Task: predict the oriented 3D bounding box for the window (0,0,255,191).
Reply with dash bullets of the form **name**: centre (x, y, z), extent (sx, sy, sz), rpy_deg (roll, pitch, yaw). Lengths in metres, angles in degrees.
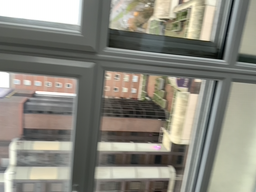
- **window**: centre (0.030, 0.440, 1.130), extent (0.130, 1.540, 3.200), rpy_deg (-129, 45, -72)
